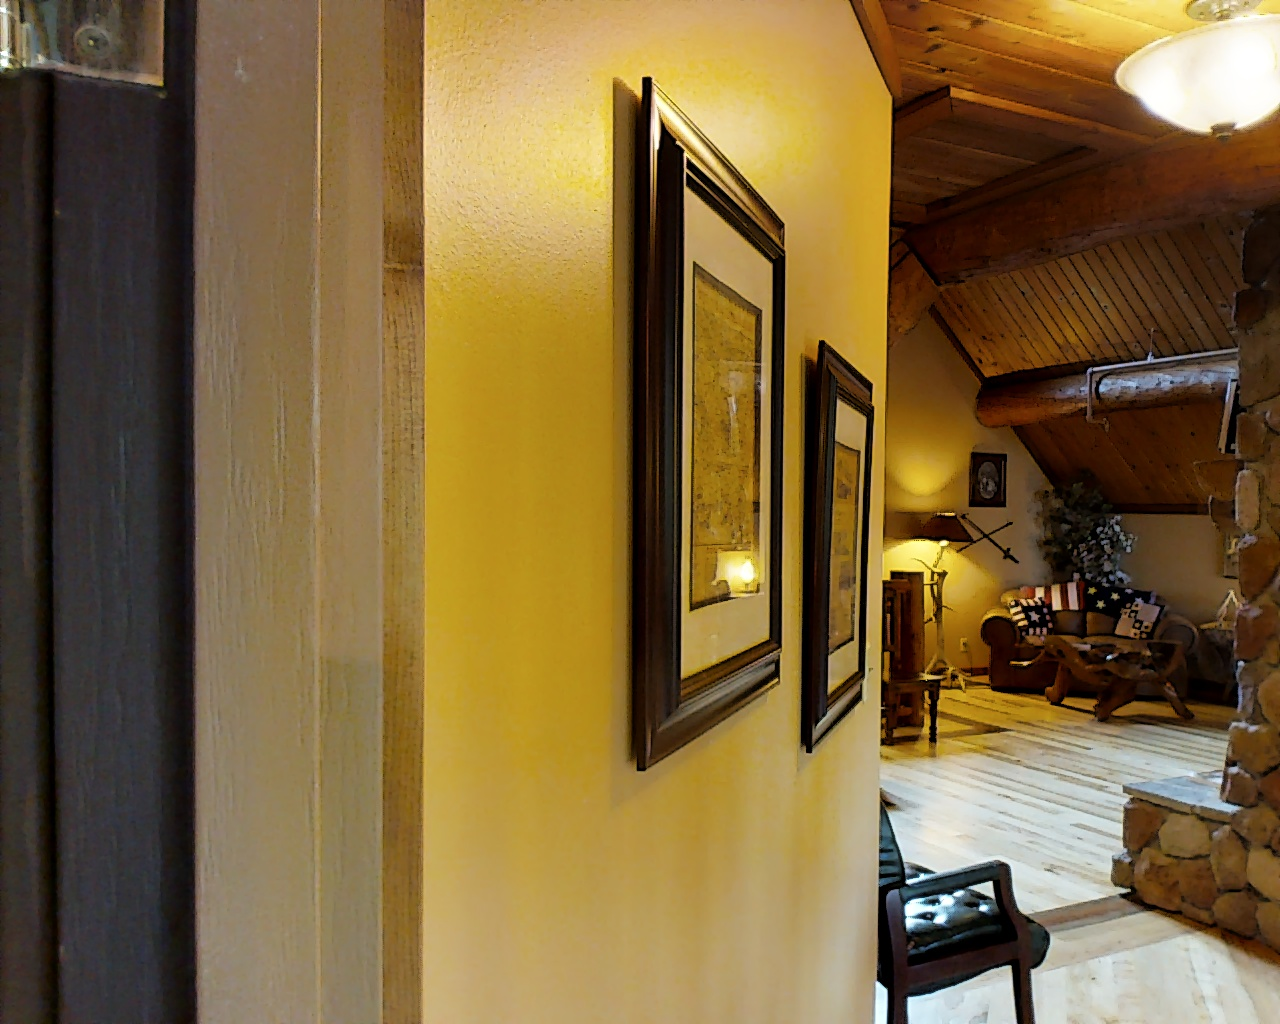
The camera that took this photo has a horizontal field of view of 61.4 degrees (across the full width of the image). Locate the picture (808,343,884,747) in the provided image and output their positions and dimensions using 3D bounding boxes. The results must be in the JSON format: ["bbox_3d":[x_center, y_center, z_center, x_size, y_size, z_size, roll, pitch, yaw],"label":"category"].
[{"bbox_3d":[0.380,0.050,1.940,0.030,0.630,0.550,1,0,21],"label":"picture"}]
